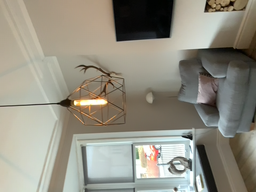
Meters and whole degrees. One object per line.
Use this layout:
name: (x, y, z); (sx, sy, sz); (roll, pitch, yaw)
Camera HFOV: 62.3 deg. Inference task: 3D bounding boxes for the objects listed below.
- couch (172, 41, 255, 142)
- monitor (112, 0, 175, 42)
couch: (1.220, -0.120, 3.110); (1.120, 0.870, 1.060); (-91, -1, -62)
monitor: (0.160, -1.170, 2.280); (1.230, 0.690, 0.080); (84, -177, -45)
